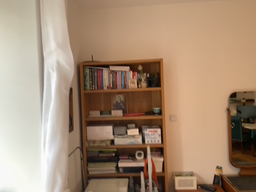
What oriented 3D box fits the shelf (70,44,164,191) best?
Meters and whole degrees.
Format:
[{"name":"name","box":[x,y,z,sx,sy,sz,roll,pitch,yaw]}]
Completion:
[{"name":"shelf","box":[-0.100,0.570,2.550,0.980,2.240,0.390,-2,2,4]}]
